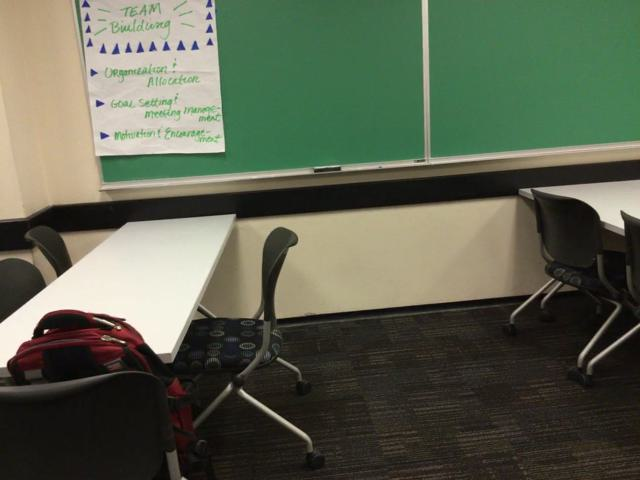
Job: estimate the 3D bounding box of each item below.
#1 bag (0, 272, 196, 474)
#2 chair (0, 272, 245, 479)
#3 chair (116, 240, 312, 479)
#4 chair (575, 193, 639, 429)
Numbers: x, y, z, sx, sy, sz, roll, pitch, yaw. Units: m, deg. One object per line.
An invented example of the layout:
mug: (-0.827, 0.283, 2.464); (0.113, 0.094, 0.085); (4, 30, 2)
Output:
bag: (-0.560, 0.300, 1.370); (0.410, 0.330, 0.290); (-9, 11, 3)
chair: (-0.630, 0.610, 1.560); (0.680, 0.760, 0.660); (-11, 16, -2)
chair: (-0.380, 0.460, 2.340); (0.530, 0.750, 0.590); (-12, 9, -1)
chair: (1.400, 0.270, 2.210); (0.490, 0.830, 0.640); (-10, 11, -2)
